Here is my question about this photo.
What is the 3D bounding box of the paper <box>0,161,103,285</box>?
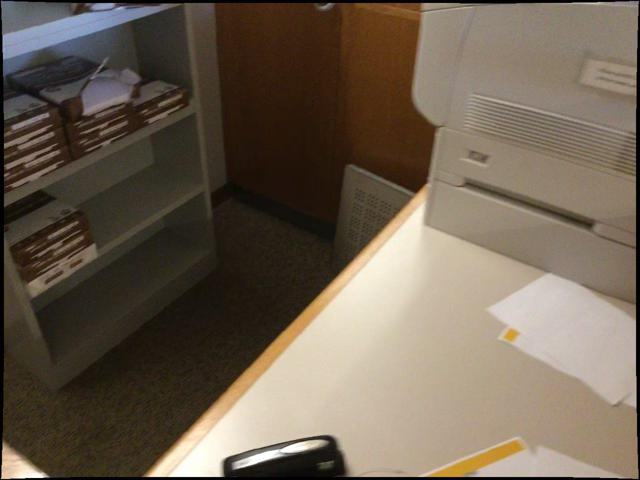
[{"bbox_3d":[-0.848,-0.060,1.670,0.310,0.150,0.250,24,44,23],"label":"paper"}]

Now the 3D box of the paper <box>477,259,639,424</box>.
[{"bbox_3d":[0.479,0.170,1.090,0.300,0.040,0.270,32,31,20],"label":"paper"}]

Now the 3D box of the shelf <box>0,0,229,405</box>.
[{"bbox_3d":[-0.718,-0.561,1.530,0.360,2.103,0.800,26,44,26],"label":"shelf"}]

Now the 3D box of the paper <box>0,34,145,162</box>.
[{"bbox_3d":[-0.698,-0.411,1.640,0.290,0.210,0.220,29,48,26],"label":"paper"}]

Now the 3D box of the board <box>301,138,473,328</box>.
[{"bbox_3d":[0.209,-0.020,2.070,0.510,0.501,0.130,32,44,20],"label":"board"}]
